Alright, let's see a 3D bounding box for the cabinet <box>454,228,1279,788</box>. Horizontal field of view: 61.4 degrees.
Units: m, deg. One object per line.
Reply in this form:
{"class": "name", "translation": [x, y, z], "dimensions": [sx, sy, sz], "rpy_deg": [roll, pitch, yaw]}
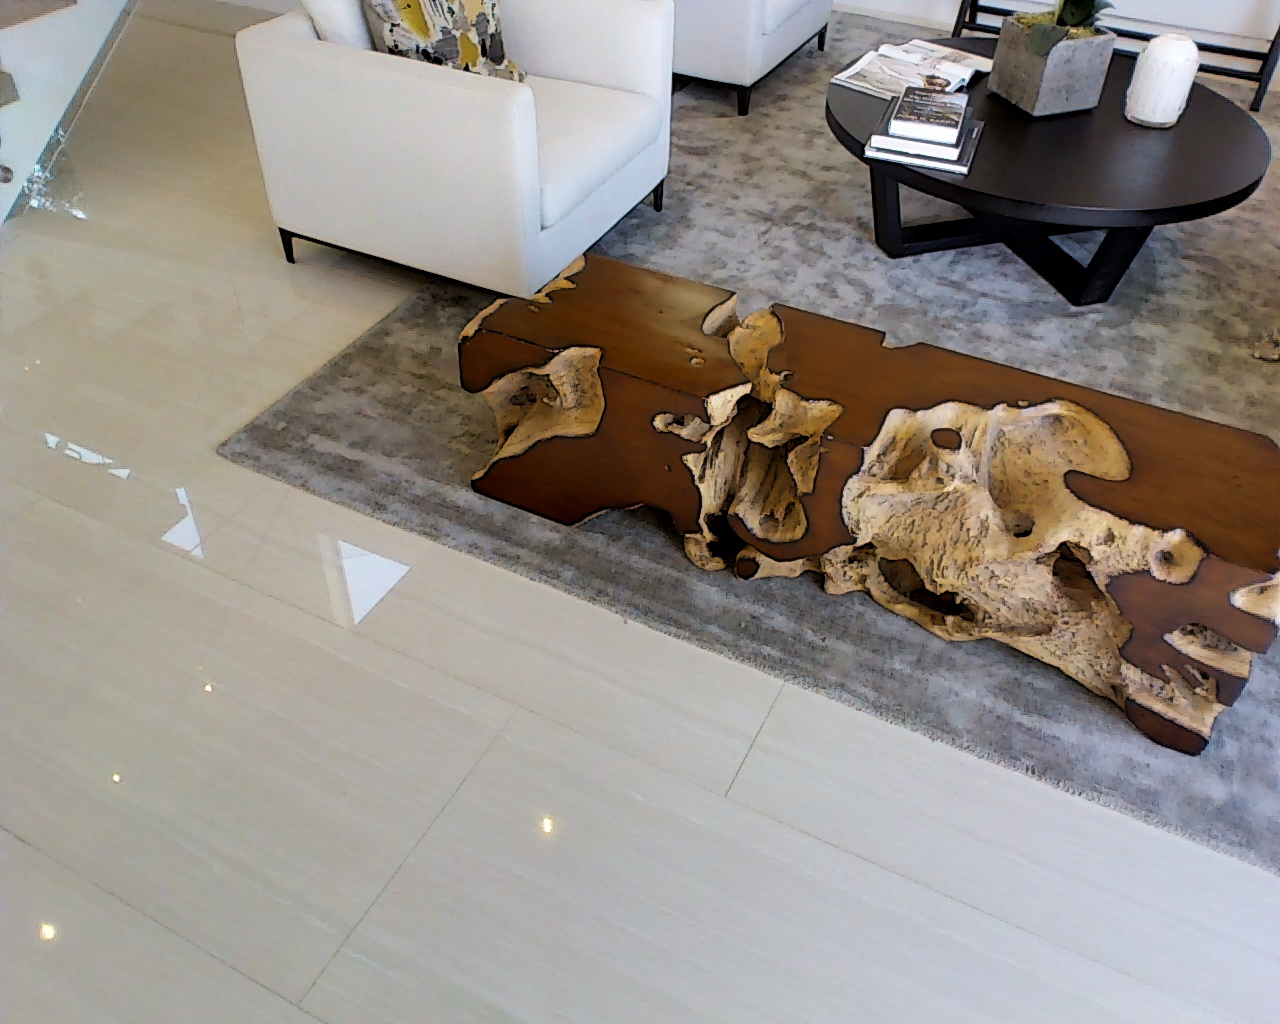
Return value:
{"class": "cabinet", "translation": [0.430, -0.070, 2.120], "dimensions": [1.570, 0.480, 0.420], "rpy_deg": [20, 45, 19]}
